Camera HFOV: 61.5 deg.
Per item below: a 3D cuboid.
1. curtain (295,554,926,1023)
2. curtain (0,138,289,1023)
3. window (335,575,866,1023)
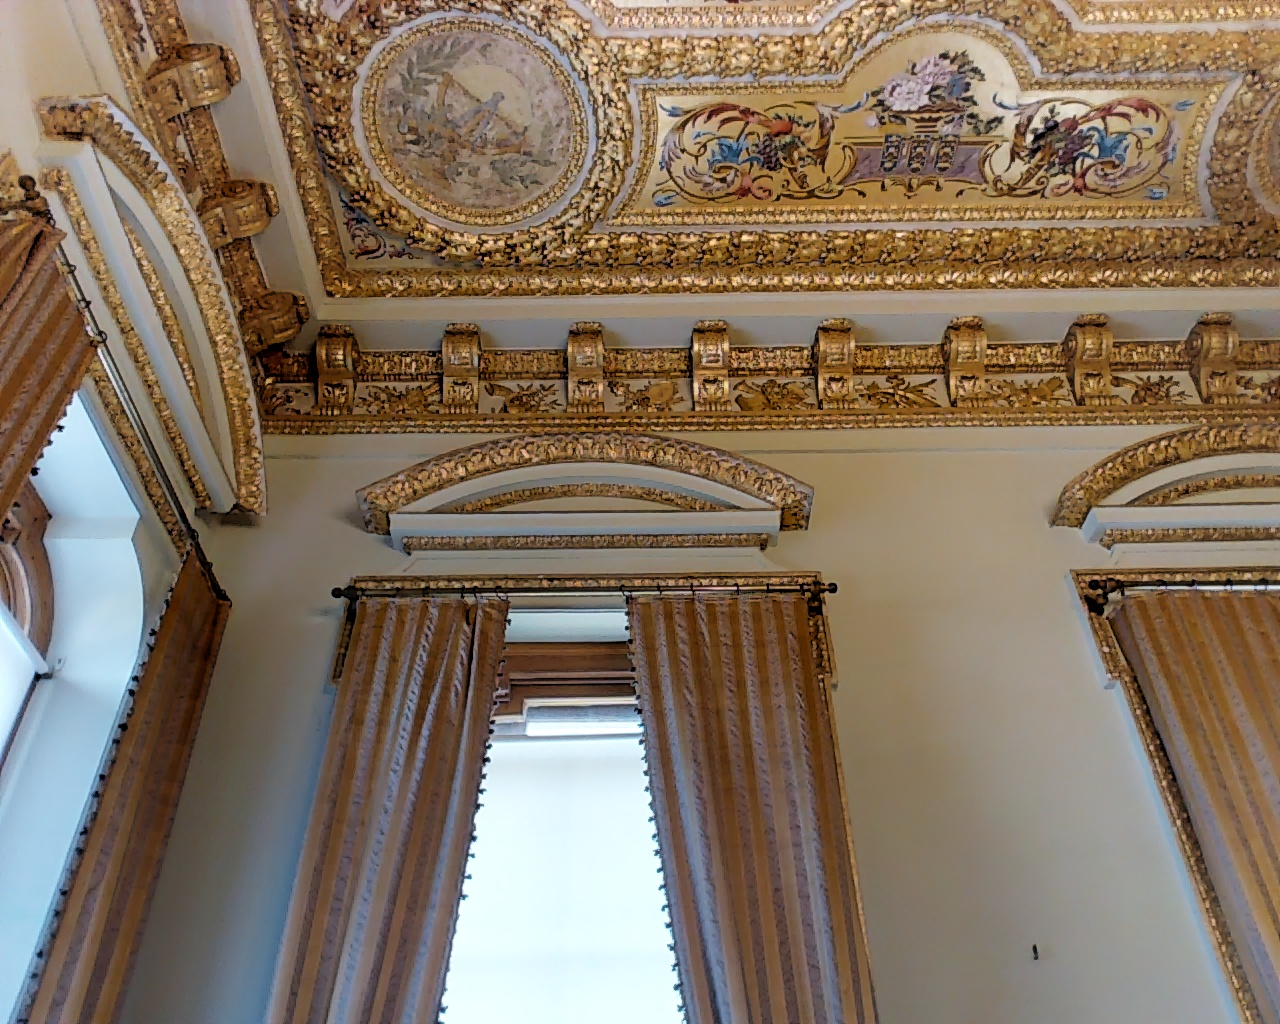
[{"bbox_3d":[-0.080,1.551,2.900,1.679,3.451,0.320,-1,-42,1],"label":"curtain"},{"bbox_3d":[-1.479,1.201,2.050,0.240,4.222,1.821,-1,-42,1],"label":"curtain"},{"bbox_3d":[-0.110,1.421,2.870,1.429,3.161,0.030,-1,-42,1],"label":"window"}]
